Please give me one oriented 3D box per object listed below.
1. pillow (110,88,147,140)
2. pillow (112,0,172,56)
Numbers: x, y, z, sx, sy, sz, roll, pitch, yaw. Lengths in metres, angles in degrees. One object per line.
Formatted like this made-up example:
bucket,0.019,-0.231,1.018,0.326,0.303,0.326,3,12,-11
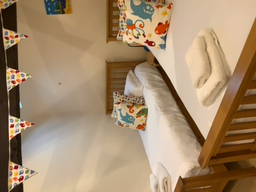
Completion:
pillow,-0.020,0.250,3.070,0.480,0.400,0.530,-108,19,-50
pillow,0.090,-0.820,2.230,0.890,0.370,0.430,-108,19,-50
